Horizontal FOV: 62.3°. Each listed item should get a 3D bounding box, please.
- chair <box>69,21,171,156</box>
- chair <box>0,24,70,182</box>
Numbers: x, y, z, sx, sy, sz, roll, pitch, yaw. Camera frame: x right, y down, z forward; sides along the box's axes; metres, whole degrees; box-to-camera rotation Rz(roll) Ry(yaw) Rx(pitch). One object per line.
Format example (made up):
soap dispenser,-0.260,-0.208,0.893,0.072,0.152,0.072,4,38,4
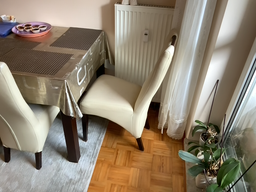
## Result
chair,-0.040,-0.050,1.720,0.600,0.900,0.480,9,37,8
chair,-0.780,0.060,1.490,0.450,0.930,0.540,7,37,6
